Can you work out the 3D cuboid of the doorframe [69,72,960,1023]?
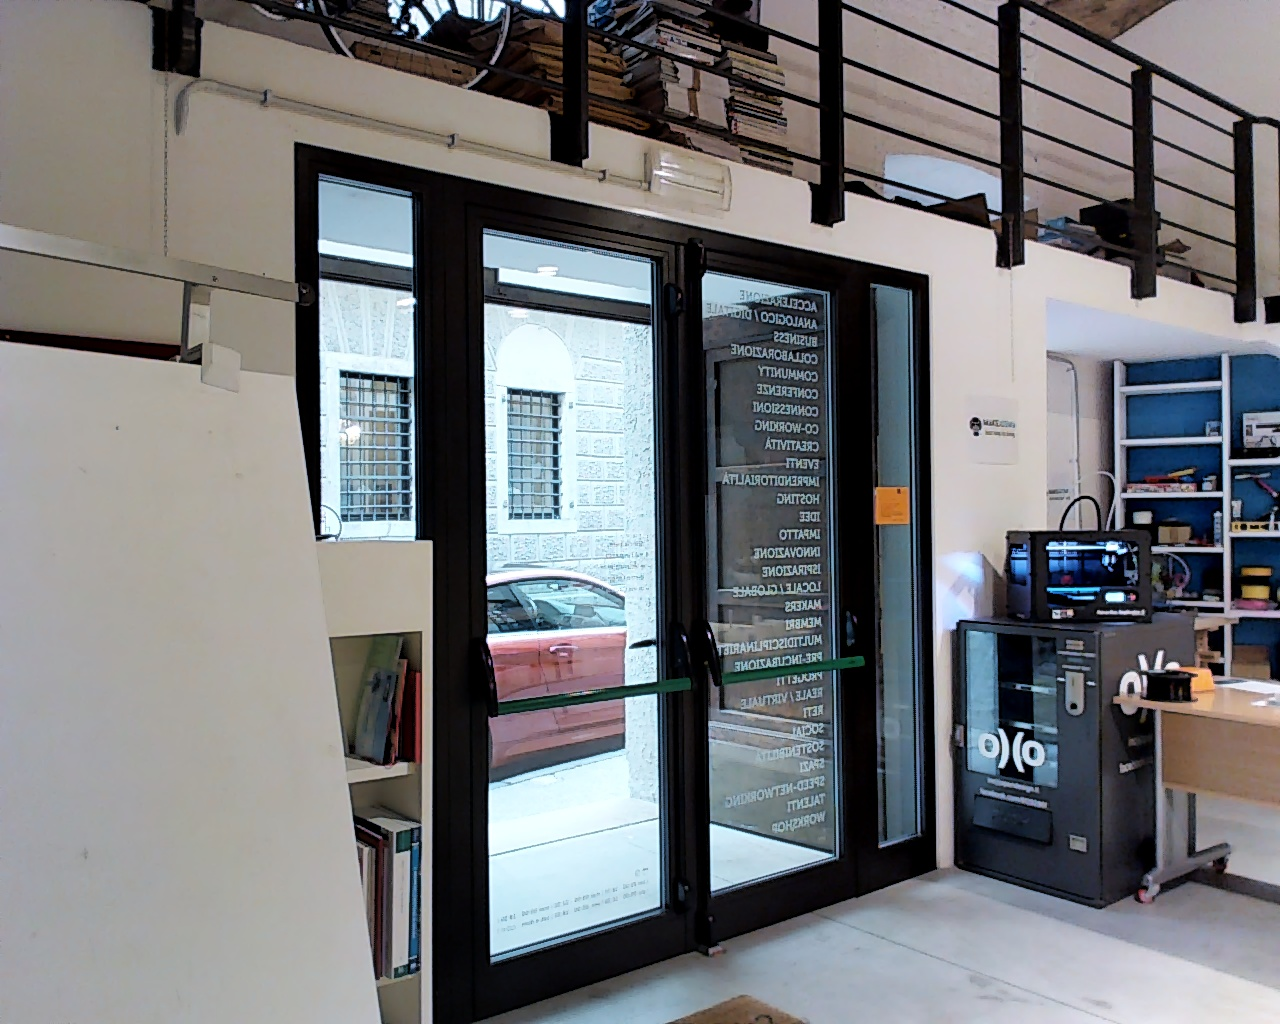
[{"bbox_3d":[-0.260,0.230,4.050,3.179,2.601,1.150,0,-1,-38],"label":"doorframe"}]

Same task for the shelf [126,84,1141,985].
[{"bbox_3d":[-0.030,0.250,3.550,2.600,2.520,0.620,0,41,-38],"label":"shelf"}]

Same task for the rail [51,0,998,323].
[{"bbox_3d":[-0.040,-2.291,4.480,4.179,2.461,0.680,0,-1,-38],"label":"rail"}]

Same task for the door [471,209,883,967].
[{"bbox_3d":[0.210,0.220,3.730,1.680,2.211,0.190,0,-1,-38],"label":"door"}]
